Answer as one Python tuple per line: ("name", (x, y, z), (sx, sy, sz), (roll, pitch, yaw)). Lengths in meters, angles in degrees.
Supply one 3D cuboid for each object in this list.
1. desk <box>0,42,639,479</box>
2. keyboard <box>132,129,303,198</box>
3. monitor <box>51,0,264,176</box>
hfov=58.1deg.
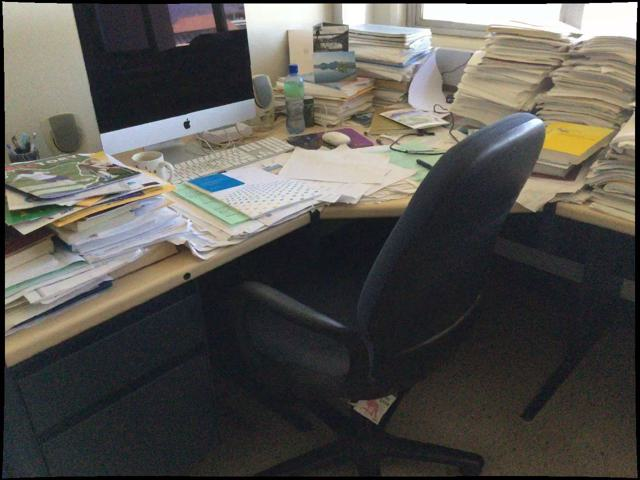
("desk", (0.549, 0.331, 1.280), (2.817, 0.942, 2.068), (22, 36, 37))
("keyboard", (-0.289, -0.241, 1.720), (0.180, 0.030, 0.500), (22, 36, 37))
("monitor", (-0.419, -0.471, 1.650), (0.100, 0.411, 0.570), (22, 36, 37))
